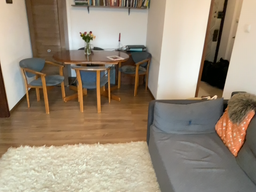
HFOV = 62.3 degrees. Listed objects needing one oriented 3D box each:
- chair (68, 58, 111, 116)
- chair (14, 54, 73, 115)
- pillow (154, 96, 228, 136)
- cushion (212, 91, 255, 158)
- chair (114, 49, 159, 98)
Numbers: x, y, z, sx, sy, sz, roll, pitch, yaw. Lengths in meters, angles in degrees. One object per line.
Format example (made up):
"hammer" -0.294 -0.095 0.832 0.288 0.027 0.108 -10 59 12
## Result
"chair" -0.570 -0.150 3.280 0.570 0.740 0.560 0 22 -8
"chair" -1.290 -0.210 3.330 0.560 0.740 0.570 13 24 24
"pillow" 0.600 0.200 2.080 0.620 0.260 0.190 8 38 -9
"cushion" 0.920 0.230 1.840 0.100 0.400 0.430 4 26 -4
"chair" 0.140 -0.460 4.120 0.560 0.750 0.610 -17 29 -39
